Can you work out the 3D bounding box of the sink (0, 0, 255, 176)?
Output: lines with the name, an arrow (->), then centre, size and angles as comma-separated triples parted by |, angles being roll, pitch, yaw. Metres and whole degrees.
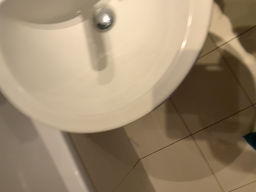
sink -> -0.070, -0.160, 0.470 | 0.450, 0.210, 0.450 | -31, 82, 13
